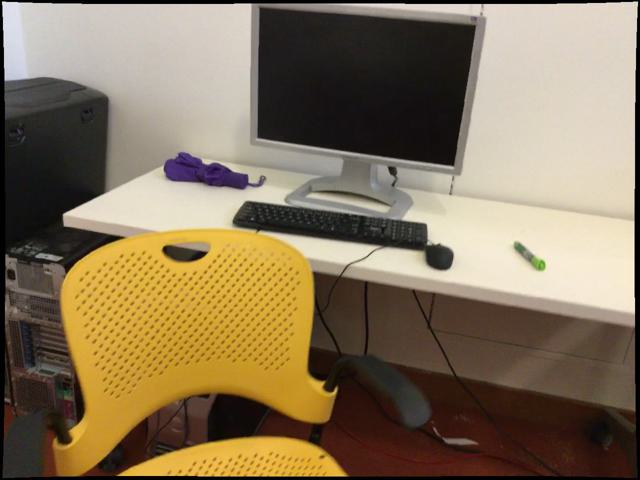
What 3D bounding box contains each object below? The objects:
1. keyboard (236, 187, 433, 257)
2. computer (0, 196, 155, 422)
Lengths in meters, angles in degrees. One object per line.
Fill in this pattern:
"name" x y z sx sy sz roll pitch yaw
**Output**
"keyboard" 0.040 -0.050 1.400 0.450 0.030 0.170 11 25 10
"computer" -0.699 0.190 1.710 0.260 0.520 0.350 11 25 10
